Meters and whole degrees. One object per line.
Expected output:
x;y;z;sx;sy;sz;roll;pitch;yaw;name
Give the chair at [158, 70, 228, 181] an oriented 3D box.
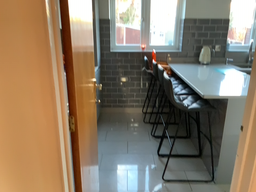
0.600;0.290;2.140;0.490;1.030;0.400;0;18;-1;chair
